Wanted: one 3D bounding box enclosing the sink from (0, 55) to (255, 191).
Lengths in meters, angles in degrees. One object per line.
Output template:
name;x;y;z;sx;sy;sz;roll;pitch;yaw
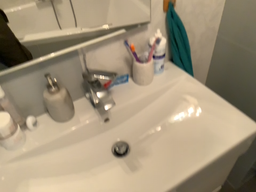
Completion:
sink;-0.010;0.170;0.700;0.760;0.190;0.440;-25;47;-20
